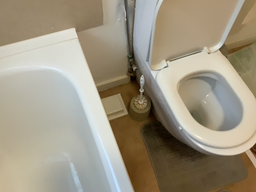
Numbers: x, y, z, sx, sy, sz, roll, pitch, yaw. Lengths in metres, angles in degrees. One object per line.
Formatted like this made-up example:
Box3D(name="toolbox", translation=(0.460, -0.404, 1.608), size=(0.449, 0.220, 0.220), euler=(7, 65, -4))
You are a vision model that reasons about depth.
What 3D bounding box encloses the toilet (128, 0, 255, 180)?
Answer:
Box3D(name="toilet", translation=(0.310, -0.090, 0.910), size=(0.370, 0.870, 0.670), euler=(-18, 65, -11))
